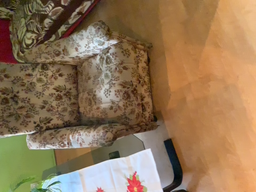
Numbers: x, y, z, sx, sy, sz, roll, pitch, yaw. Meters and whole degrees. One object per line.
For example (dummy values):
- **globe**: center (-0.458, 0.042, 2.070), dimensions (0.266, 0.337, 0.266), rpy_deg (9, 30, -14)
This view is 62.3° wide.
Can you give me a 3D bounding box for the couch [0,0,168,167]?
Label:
- **couch**: center (-0.410, -0.030, 1.470), dimensions (0.900, 0.920, 0.730), rpy_deg (-12, 82, 44)
